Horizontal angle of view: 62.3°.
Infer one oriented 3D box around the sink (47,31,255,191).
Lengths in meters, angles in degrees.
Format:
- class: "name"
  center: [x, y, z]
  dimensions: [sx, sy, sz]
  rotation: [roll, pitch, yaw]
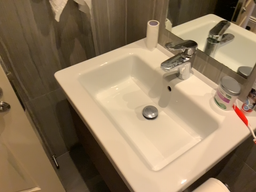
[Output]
- class: "sink"
  center: [0.060, 0.020, 0.820]
  dimensions: [0.480, 0.140, 0.660]
  rotation: [-27, 52, -25]
